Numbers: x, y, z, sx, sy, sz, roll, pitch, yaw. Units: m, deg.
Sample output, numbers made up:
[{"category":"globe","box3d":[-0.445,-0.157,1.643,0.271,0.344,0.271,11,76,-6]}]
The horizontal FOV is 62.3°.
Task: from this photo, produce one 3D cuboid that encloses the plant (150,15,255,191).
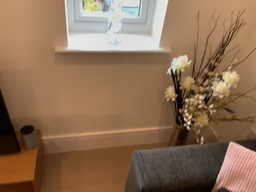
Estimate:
[{"category":"plant","box3d":[0.540,0.120,1.400,0.500,1.140,0.420,-5,41,-15]}]
